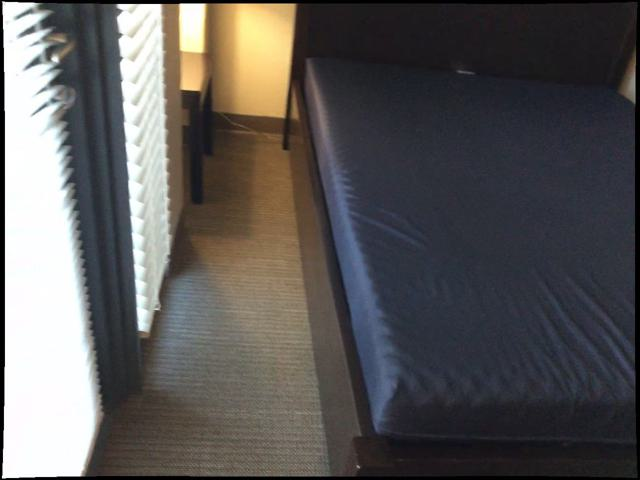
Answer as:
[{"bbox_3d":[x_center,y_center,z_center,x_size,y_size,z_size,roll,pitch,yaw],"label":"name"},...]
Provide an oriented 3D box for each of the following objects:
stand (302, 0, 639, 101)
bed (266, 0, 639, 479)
[{"bbox_3d":[0.708,-0.993,2.650,1.526,0.491,0.230,4,33,-8],"label":"stand"},{"bbox_3d":[0.768,-0.291,1.940,1.805,1.052,2.252,4,33,-8],"label":"bed"}]
